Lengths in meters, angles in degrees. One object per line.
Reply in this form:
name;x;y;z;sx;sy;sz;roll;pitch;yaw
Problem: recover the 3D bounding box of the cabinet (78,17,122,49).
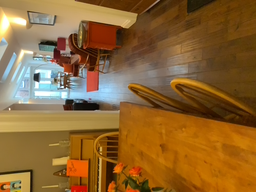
cabinet;-0.600;-1.280;4.440;0.680;0.750;0.450;-164;76;-66
